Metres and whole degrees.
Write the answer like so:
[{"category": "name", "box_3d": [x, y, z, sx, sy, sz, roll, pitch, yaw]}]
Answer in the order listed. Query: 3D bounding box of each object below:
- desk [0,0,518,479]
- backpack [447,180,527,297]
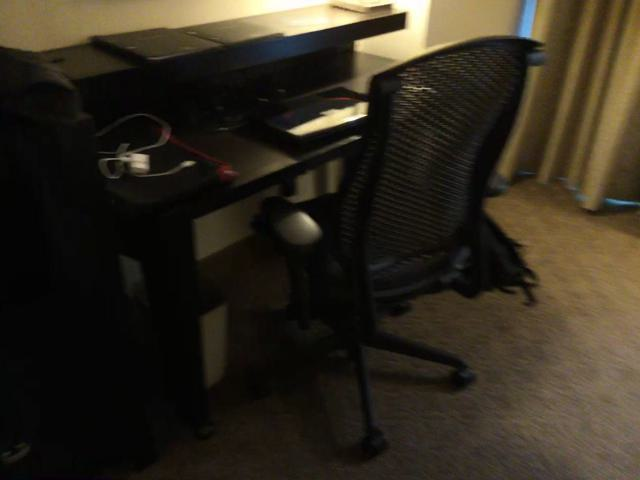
[{"category": "desk", "box_3d": [-0.140, -0.170, 1.870, 0.710, 0.980, 1.500, 27, 40, 37]}, {"category": "backpack", "box_3d": [0.650, -0.010, 2.220, 0.170, 0.350, 0.290, -13, 13, 29]}]
